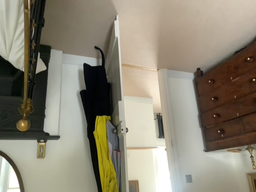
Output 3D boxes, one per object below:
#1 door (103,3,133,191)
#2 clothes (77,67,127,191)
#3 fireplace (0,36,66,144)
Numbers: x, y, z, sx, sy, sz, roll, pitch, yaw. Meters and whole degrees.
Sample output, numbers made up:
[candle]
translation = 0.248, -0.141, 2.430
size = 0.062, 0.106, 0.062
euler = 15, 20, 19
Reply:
[door]
translation = -0.130, 0.190, 2.000
size = 0.040, 1.920, 0.820
euler = 2, 160, -16
[clothes]
translation = -0.260, 0.410, 1.860
size = 0.320, 1.180, 0.550
euler = 2, 160, -16
[fireplace]
translation = -1.270, -0.070, 2.050
size = 1.220, 1.020, 0.260
euler = 5, 159, -22
